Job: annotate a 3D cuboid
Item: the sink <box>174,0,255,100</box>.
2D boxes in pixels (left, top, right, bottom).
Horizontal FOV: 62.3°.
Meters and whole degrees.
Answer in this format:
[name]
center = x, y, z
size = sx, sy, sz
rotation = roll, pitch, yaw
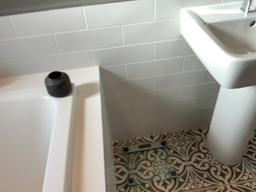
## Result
[sink]
center = 0.540, -0.230, 0.880
size = 0.580, 0.200, 0.400
rotation = -8, 41, -4
